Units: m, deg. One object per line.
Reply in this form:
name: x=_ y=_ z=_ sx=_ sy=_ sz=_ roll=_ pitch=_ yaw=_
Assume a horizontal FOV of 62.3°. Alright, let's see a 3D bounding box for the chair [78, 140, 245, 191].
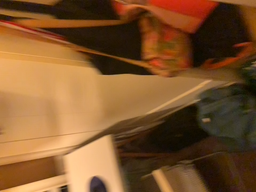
chair: x=0.240 y=0.660 z=1.350 sx=0.590 sy=0.860 sz=0.450 roll=-40 pitch=62 yaw=40
